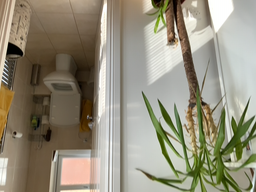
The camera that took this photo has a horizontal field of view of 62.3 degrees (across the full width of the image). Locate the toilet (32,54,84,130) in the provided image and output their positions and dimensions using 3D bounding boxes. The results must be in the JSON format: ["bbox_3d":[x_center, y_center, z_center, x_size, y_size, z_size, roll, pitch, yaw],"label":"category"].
[{"bbox_3d":[-0.850,-0.030,2.710,0.460,0.840,0.540,0,163,-5],"label":"toilet"}]

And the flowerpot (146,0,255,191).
[{"bbox_3d":[0.330,-0.230,1.150,0.380,1.420,0.350,0,163,-4],"label":"flowerpot"}]
